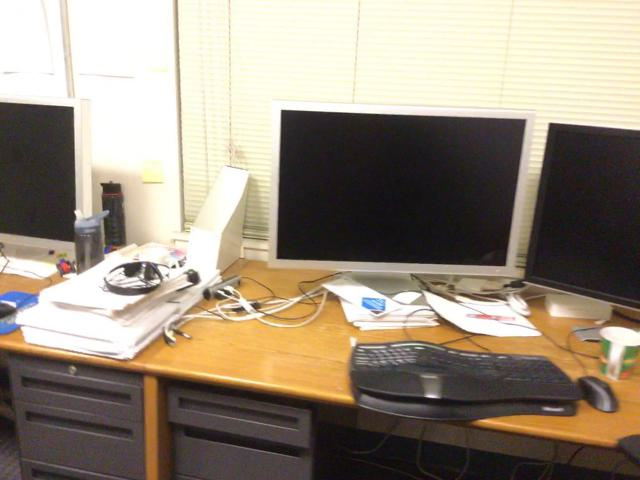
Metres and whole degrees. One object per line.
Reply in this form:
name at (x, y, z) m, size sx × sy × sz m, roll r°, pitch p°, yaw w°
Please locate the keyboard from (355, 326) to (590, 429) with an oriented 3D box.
keyboard at (0.320, 0.300, 1.290) m, size 0.450 × 0.120 × 0.220 m, roll 2°, pitch 16°, yaw -4°
